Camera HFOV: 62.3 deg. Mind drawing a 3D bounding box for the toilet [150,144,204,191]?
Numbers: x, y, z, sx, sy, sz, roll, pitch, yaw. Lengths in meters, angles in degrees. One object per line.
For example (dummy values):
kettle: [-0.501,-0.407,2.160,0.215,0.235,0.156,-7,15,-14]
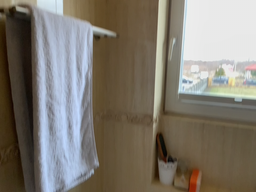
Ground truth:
toilet: [0.280,0.420,1.230,0.270,0.200,0.130,7,11,27]
